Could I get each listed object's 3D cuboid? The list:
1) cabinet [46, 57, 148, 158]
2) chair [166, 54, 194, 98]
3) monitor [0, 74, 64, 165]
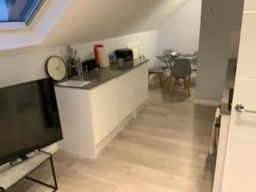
[{"bbox_3d":[-0.280,0.000,3.250,0.590,0.890,1.810,7,21,24],"label":"cabinet"},{"bbox_3d":[1.070,-0.430,4.480,0.460,0.810,0.520,0,19,4],"label":"chair"},{"bbox_3d":[-1.020,0.230,1.740,0.080,0.630,1.010,14,25,37],"label":"monitor"}]
